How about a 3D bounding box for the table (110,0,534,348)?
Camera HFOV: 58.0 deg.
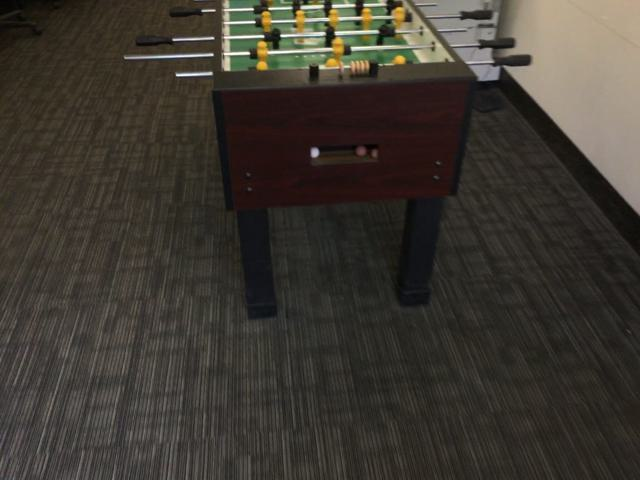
[{"bbox_3d":[-0.080,-0.540,2.500,1.160,1.130,1.510,-4,39,-7],"label":"table"}]
